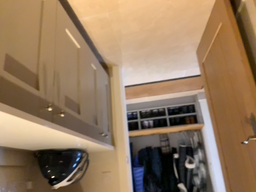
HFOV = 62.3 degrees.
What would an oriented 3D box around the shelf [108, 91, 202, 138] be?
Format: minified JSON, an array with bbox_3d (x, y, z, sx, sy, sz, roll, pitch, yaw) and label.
[{"bbox_3d":[0.450,0.350,3.690,1.470,0.540,0.510,-8,161,9],"label":"shelf"}]
